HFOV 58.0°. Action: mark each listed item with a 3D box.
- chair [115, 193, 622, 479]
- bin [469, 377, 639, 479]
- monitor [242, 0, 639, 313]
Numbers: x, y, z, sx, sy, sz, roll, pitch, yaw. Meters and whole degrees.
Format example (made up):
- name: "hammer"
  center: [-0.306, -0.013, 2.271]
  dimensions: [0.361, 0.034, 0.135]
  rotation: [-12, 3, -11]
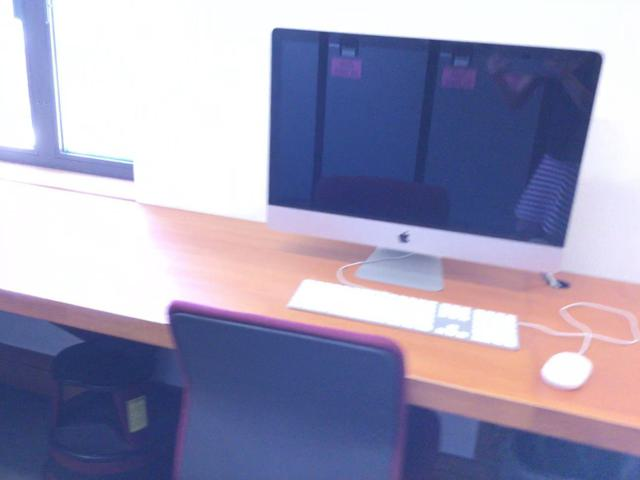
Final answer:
- name: "chair"
  center: [0.050, 0.480, 1.190]
  dimensions: [0.670, 0.890, 0.610]
  rotation: [15, 23, 12]
- name: "bin"
  center: [0.610, 0.660, 1.410]
  dimensions: [0.430, 0.420, 0.330]
  rotation: [15, 23, 11]
- name: "monitor"
  center: [0.200, -0.180, 1.220]
  dimensions: [0.700, 0.510, 0.070]
  rotation: [15, 23, 11]
